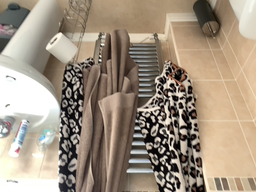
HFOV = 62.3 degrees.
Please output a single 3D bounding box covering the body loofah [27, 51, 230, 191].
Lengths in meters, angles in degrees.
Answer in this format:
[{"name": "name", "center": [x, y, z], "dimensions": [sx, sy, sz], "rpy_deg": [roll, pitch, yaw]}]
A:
[{"name": "body loofah", "center": [0.000, 0.180, 0.920], "dimensions": [0.620, 0.790, 0.280], "rpy_deg": [1, 141, -2]}]
